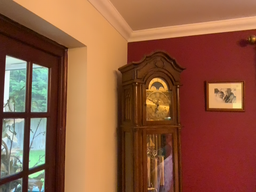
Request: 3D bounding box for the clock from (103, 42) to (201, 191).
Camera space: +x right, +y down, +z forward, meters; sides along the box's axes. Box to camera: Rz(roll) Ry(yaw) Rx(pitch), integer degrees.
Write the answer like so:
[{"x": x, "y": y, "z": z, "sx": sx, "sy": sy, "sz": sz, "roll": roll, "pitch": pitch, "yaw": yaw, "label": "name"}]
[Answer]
[{"x": 0.190, "y": 0.690, "z": 2.040, "sx": 0.560, "sy": 2.150, "sz": 0.780, "roll": 3, "pitch": -5, "yaw": -33, "label": "clock"}]
